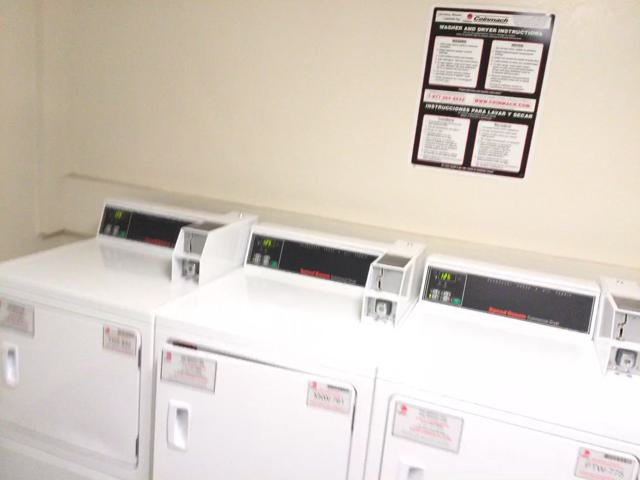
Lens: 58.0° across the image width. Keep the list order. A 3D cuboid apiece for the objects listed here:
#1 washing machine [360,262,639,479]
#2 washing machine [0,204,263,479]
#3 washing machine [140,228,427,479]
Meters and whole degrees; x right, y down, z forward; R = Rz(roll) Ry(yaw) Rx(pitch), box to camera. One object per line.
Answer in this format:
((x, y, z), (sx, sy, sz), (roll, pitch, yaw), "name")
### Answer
((0.570, 0.660, 1.750), (0.710, 1.030, 0.690), (5, 9, 23), "washing machine")
((-0.710, 0.440, 2.220), (0.740, 1.070, 0.710), (4, 9, 20), "washing machine")
((-0.080, 0.550, 1.980), (0.690, 1.060, 0.730), (5, 9, 23), "washing machine")
